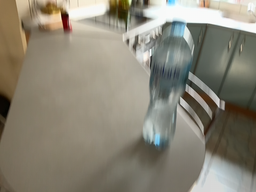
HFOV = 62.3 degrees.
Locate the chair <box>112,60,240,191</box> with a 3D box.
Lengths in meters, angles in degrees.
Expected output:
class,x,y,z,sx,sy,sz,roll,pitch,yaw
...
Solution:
class,x,y,z,sx,sy,sz,roll,pitch,yaw
chair,0.120,0.330,1.030,0.300,0.910,0.400,-3,34,-13
